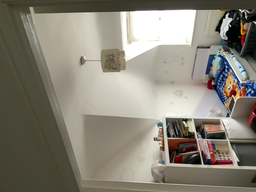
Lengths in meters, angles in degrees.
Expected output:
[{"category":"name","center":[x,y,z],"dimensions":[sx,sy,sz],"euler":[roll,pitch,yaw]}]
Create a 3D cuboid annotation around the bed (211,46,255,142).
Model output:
[{"category":"bed","center":[1.750,-0.110,3.340],"dimensions":[1.450,0.380,0.820],"euler":[-82,-9,-53]}]
